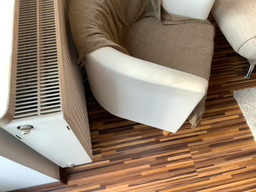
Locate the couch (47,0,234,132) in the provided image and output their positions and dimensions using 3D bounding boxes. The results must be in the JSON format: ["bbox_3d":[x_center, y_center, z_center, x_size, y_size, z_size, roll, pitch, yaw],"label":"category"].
[{"bbox_3d":[0.100,-0.300,1.200,0.670,0.640,0.650,18,64,7],"label":"couch"}]

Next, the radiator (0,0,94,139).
[{"bbox_3d":[-0.390,-0.280,1.100,0.280,0.800,0.770,-7,64,-6],"label":"radiator"}]
